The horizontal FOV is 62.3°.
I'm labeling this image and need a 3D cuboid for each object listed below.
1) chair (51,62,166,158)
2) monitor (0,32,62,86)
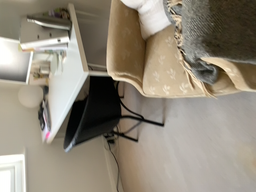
[{"bbox_3d":[-0.200,0.140,1.790,0.550,0.720,0.530,-48,49,46],"label":"chair"},{"bbox_3d":[-0.860,-0.270,1.710,0.520,0.510,0.050,-46,47,45],"label":"monitor"}]
